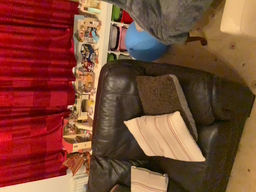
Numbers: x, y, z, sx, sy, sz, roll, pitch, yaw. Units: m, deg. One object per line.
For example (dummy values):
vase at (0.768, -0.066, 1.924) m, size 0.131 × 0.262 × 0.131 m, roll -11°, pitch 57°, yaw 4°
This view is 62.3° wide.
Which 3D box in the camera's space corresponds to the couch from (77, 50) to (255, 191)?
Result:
couch at (0.190, 0.580, 1.860) m, size 1.060 × 0.870 × 1.750 m, roll 28°, pitch 114°, yaw 54°

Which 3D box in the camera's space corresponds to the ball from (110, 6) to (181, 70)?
ball at (0.160, -0.600, 2.240) m, size 0.460 × 0.460 × 0.480 m, roll 48°, pitch 129°, yaw 46°

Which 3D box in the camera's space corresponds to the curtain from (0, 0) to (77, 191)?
curtain at (-1.450, 0.050, 2.310) m, size 0.140 × 1.640 × 2.350 m, roll 25°, pitch 112°, yaw 54°
